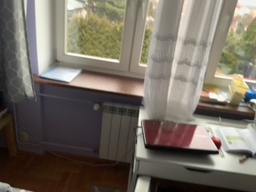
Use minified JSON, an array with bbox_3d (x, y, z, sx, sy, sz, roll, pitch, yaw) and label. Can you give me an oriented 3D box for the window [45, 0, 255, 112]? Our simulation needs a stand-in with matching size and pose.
[{"bbox_3d":[0.380,-0.740,1.690,2.090,1.580,0.140,10,25,2],"label":"window"}]
